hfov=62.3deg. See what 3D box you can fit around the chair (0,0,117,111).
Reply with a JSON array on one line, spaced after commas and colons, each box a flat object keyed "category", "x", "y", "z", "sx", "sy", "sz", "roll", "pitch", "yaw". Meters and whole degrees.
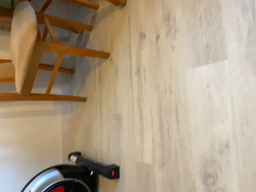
[{"category": "chair", "x": -0.660, "y": -0.250, "z": 1.200, "sx": 0.570, "sy": 0.960, "sz": 0.410, "roll": -52, "pitch": 51, "yaw": 36}]
